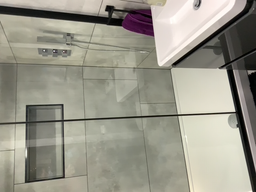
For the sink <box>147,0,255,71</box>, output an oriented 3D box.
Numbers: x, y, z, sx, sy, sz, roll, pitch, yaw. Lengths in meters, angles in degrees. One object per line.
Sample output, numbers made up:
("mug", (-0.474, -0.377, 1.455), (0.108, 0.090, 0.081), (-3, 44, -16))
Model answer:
("sink", (0.290, -0.430, 1.070), (0.620, 0.100, 0.410), (143, 124, -66))
